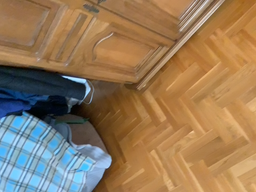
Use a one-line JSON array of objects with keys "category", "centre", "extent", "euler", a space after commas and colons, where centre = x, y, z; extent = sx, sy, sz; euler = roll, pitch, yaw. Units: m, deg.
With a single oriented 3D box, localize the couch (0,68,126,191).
[{"category": "couch", "centre": [-0.880, 0.480, 1.920], "extent": [0.960, 1.020, 1.040], "euler": [-55, 54, 25]}]
